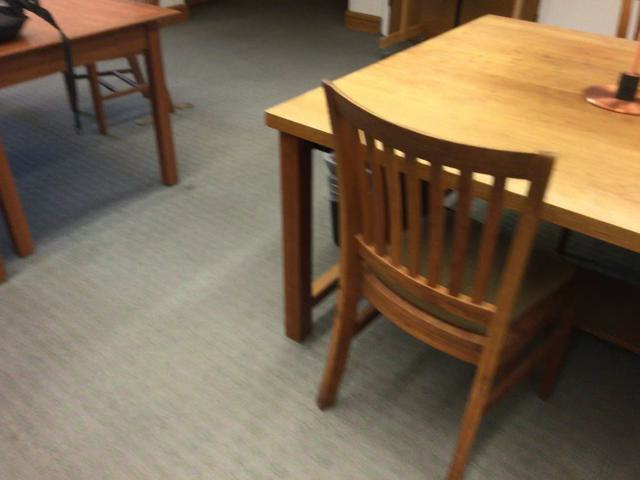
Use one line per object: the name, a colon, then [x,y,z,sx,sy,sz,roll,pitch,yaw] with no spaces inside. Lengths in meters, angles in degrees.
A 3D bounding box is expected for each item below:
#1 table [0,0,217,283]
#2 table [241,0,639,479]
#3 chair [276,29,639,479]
table: [-1.260,-0.600,2.430,1.250,0.800,0.960,22,39,29]
table: [1.360,0.110,1.400,2.720,0.840,1.510,22,39,29]
chair: [0.320,0.060,1.400,0.550,0.910,0.620,22,39,29]
